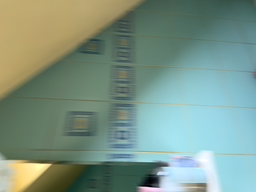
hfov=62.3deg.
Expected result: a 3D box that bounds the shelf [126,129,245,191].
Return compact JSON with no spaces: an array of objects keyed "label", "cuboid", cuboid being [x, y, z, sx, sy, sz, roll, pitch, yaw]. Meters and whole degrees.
[{"label":"shelf","cuboid":[0.160,0.380,0.600,0.180,0.310,0.530,102,170,-57]}]
